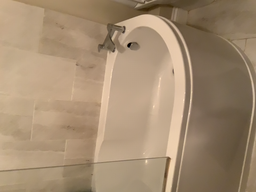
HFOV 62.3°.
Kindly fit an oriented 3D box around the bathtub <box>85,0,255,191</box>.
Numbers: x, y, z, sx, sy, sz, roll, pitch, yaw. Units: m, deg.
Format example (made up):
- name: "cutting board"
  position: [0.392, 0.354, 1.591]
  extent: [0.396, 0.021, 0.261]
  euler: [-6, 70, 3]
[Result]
- name: "bathtub"
  position: [0.210, 0.260, 1.480]
  extent: [0.930, 0.580, 1.520]
  euler: [15, 99, 58]
